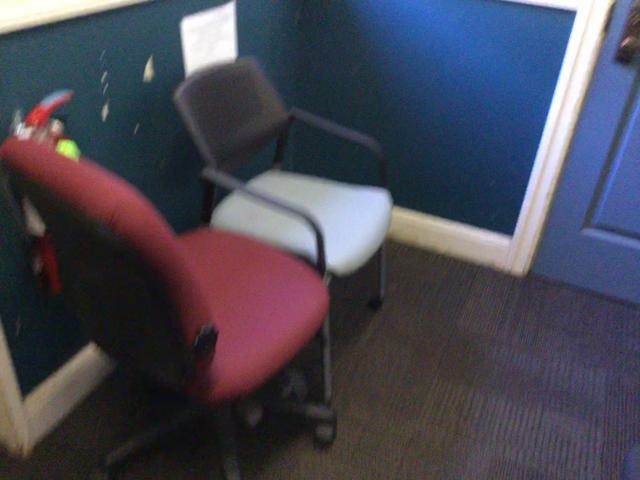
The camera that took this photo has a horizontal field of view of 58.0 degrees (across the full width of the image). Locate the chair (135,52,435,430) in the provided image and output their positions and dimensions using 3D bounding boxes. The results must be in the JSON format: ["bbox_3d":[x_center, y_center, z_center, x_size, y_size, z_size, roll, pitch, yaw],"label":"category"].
[{"bbox_3d":[-0.080,-0.040,1.770,0.580,0.850,0.630,16,32,20],"label":"chair"}]

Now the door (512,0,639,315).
[{"bbox_3d":[1.260,-0.310,1.750,1.020,1.340,0.080,16,32,20],"label":"door"}]

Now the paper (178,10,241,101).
[{"bbox_3d":[-0.330,-0.570,1.770,0.020,0.220,0.290,16,32,20],"label":"paper"}]

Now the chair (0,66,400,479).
[{"bbox_3d":[-0.300,0.160,1.330,0.650,0.910,0.560,-22,39,-37],"label":"chair"}]
